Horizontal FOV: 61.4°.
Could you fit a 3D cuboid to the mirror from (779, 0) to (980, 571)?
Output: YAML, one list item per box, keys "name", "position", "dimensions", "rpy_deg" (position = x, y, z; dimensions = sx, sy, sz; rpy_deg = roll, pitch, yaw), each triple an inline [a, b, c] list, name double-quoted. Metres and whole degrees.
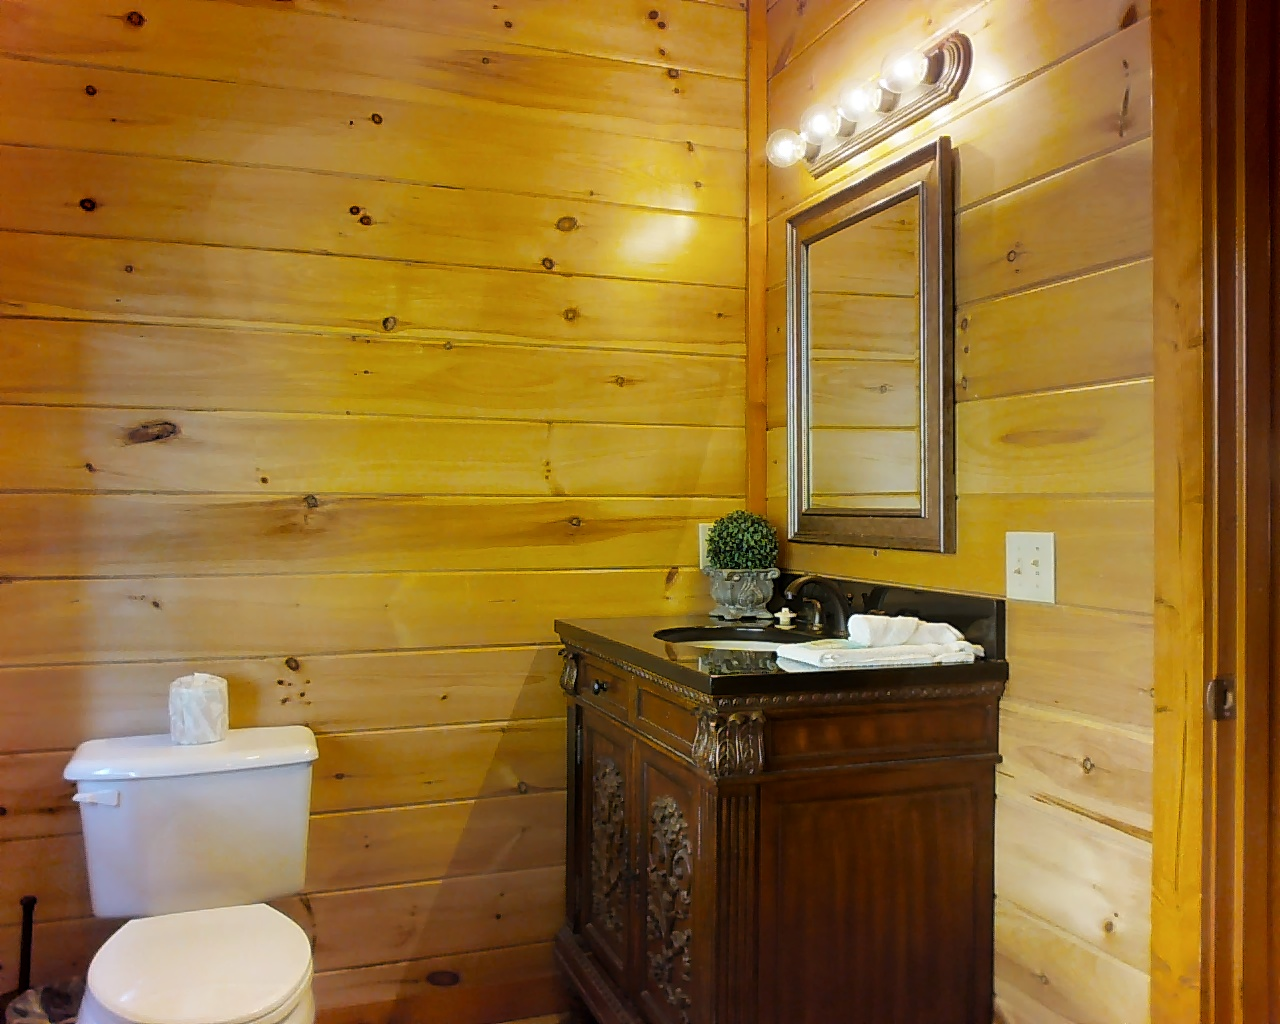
- name: "mirror"
  position: [0.470, -0.560, 2.240]
  dimensions: [0.050, 1.330, 0.670]
  rpy_deg: [-1, 0, -19]
